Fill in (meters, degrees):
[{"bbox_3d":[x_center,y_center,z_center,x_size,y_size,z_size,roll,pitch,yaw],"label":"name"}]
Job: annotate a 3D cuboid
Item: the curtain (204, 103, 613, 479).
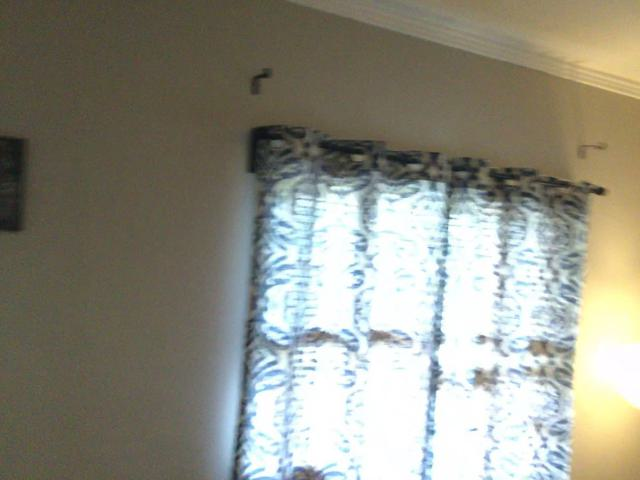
[{"bbox_3d":[0.360,0.720,2.000,1.480,2.130,0.210,4,-2,-24],"label":"curtain"}]
